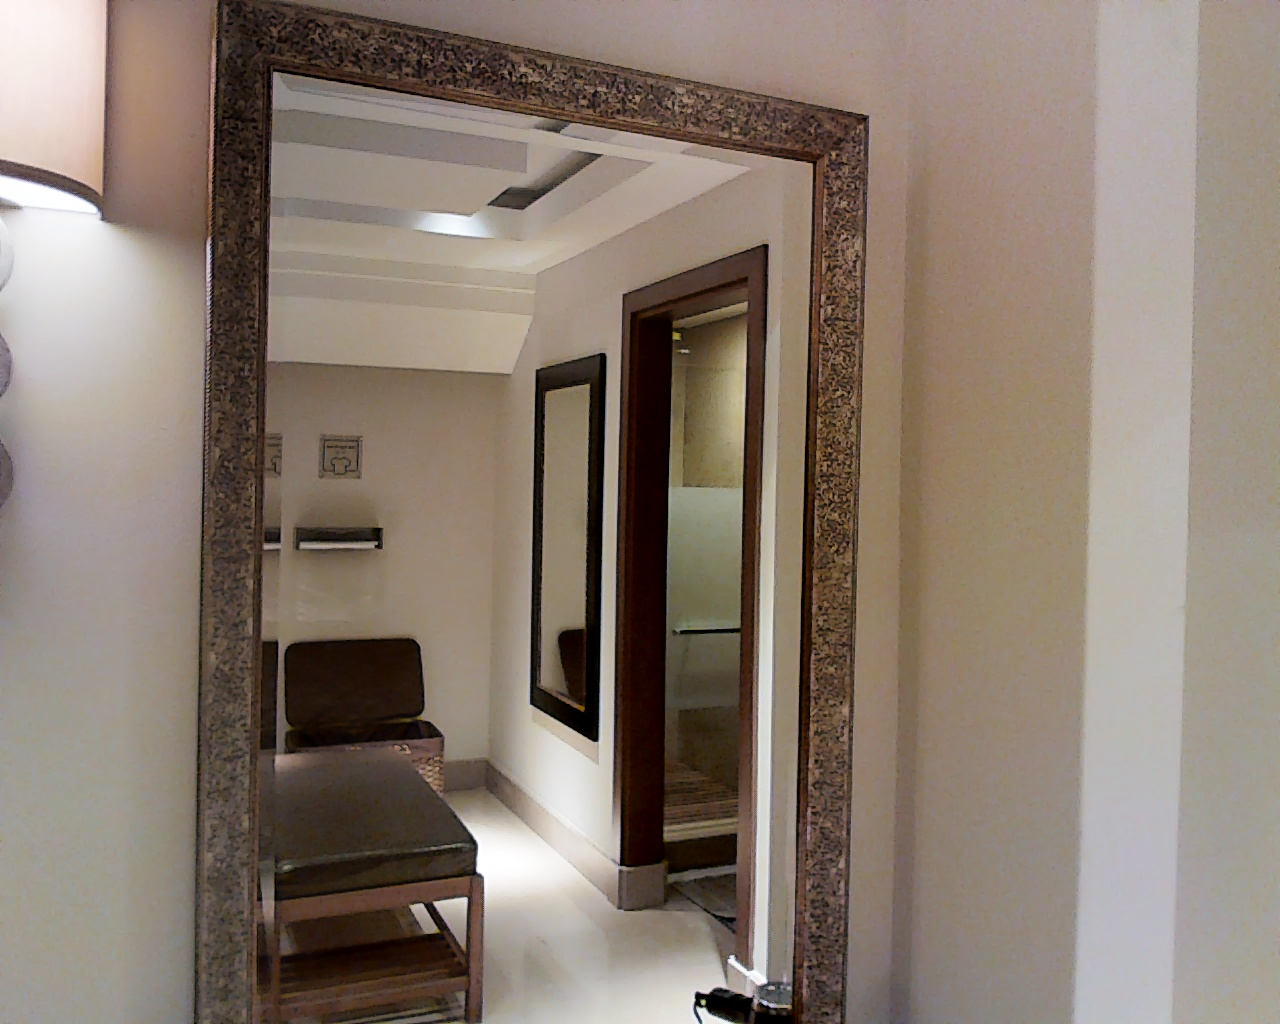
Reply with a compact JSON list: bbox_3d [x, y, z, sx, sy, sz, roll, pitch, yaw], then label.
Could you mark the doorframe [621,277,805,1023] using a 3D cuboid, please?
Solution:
[{"bbox_3d":[0.210,0.430,3.600,0.160,2.240,0.920,1,1,-24],"label":"doorframe"}]
